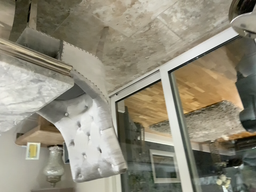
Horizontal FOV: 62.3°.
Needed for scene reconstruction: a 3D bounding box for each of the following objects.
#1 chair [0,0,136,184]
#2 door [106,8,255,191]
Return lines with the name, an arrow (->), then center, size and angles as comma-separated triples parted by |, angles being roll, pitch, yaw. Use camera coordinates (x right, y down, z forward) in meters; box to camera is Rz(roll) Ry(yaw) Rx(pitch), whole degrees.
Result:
chair -> -0.440, -0.030, 1.350 | 0.570, 1.030, 0.670 | -26, 148, 36
door -> 0.450, 0.560, 1.690 | 1.660, 2.030, 0.070 | -27, 148, 37
